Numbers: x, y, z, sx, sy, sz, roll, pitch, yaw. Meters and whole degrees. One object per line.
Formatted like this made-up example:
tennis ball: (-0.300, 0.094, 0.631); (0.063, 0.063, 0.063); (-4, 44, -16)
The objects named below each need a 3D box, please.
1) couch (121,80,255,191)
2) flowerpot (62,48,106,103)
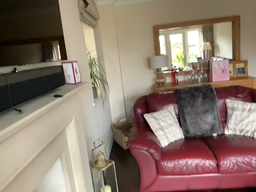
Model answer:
couch: (0.840, 0.420, 2.500); (1.640, 0.910, 1.080); (-5, 12, 5)
flowerpot: (-0.580, -0.300, 2.930); (0.370, 0.670, 0.450); (-4, 12, 10)
